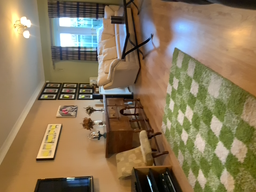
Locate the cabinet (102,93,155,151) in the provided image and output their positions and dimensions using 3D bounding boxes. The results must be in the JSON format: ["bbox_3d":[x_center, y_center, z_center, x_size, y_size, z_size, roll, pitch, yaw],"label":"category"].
[{"bbox_3d":[-0.060,0.420,4.070,1.280,0.780,0.500,-111,24,-63],"label":"cabinet"}]
